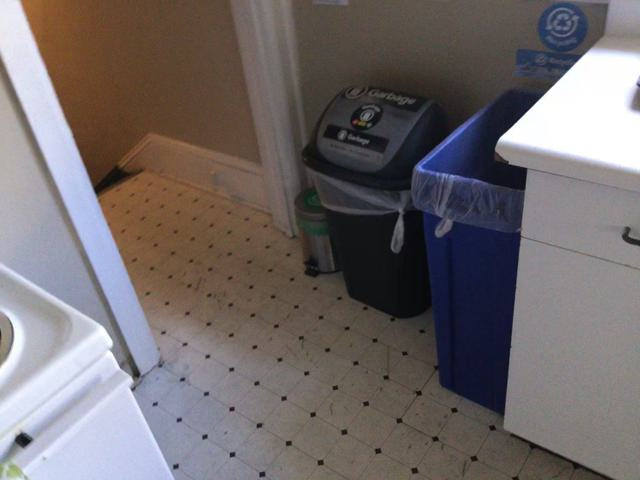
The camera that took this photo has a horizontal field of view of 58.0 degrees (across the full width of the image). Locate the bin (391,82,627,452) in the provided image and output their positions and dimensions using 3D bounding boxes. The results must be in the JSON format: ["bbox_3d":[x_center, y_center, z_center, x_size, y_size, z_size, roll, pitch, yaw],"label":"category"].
[{"bbox_3d":[0.520,0.050,1.570,0.320,0.770,0.570,18,40,38],"label":"bin"}]

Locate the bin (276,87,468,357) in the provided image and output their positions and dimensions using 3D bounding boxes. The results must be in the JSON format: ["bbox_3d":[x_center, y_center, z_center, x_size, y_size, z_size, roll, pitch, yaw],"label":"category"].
[{"bbox_3d":[0.190,-0.070,1.850,0.440,0.720,0.320,18,40,38],"label":"bin"}]
